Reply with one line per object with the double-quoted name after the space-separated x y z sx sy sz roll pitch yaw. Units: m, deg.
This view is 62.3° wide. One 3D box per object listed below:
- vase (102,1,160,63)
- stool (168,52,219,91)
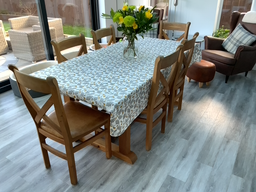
0.020 -0.670 2.150 0.370 0.500 0.450 -17 33 -29 "vase"
1.030 -0.420 3.440 0.390 0.380 0.650 -16 32 -27 "stool"
